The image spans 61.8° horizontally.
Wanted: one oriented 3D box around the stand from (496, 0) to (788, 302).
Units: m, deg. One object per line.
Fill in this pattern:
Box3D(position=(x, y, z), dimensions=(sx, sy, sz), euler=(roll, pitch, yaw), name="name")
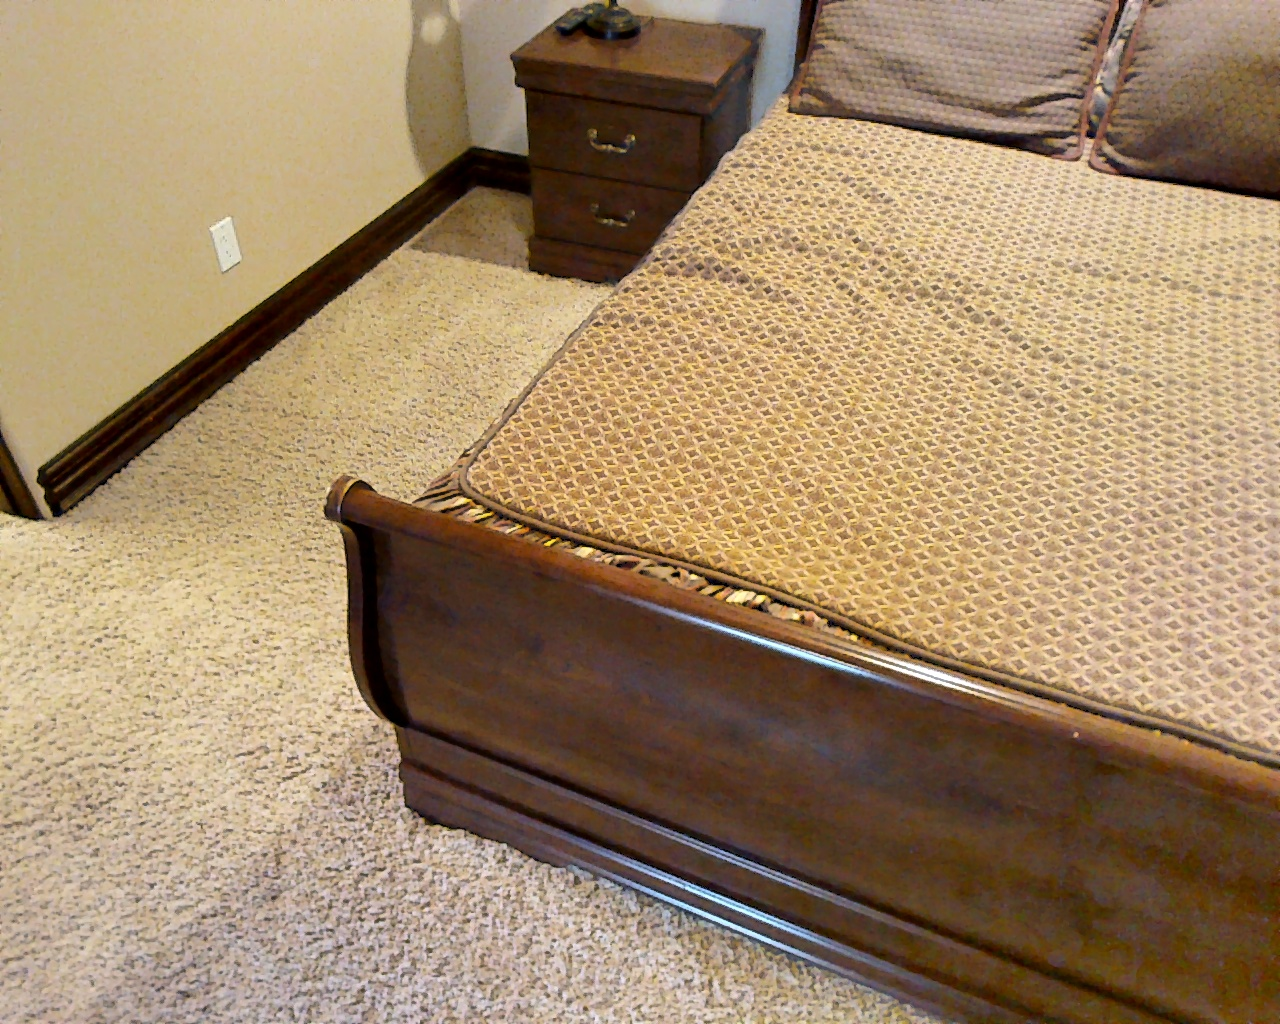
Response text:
Box3D(position=(0.010, -1.030, 2.960), dimensions=(0.610, 0.610, 0.480), euler=(17, 45, 17), name="stand")
